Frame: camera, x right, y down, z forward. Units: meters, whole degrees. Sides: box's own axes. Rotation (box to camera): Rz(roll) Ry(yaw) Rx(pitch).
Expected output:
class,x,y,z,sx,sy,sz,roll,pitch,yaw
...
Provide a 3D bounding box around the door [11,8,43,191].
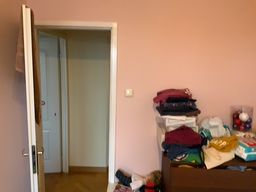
class,x,y,z,sx,sy,sz,roll,pitch,yaw
door,-0.760,0.480,1.690,0.130,2.090,0.670,-1,10,-21
